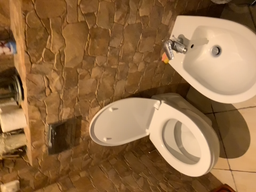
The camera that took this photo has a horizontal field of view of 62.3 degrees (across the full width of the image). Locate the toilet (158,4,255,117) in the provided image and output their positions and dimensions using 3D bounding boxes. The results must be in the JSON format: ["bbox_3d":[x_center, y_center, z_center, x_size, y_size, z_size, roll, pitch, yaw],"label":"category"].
[{"bbox_3d":[0.520,-0.220,1.120,0.500,0.410,0.350,43,132,38],"label":"toilet"}]

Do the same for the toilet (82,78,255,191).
[{"bbox_3d":[0.240,0.240,1.270,0.520,0.840,0.390,42,131,38],"label":"toilet"}]
